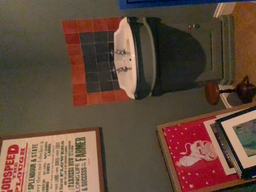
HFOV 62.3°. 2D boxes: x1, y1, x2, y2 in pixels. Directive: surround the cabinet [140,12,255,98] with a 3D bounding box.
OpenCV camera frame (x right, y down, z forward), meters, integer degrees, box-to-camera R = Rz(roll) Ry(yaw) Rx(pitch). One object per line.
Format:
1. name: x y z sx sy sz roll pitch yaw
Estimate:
1. cabinet: 0.500 -0.330 1.690 0.420 0.680 0.450 96 164 -53
